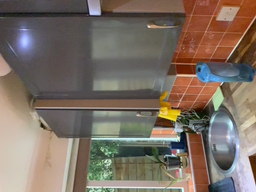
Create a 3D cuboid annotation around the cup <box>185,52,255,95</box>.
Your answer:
[{"bbox_3d":[0.500,-0.120,1.180,0.170,0.300,0.170,94,177,-68],"label":"cup"}]
